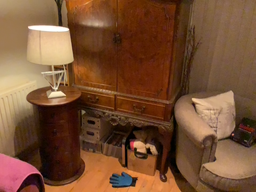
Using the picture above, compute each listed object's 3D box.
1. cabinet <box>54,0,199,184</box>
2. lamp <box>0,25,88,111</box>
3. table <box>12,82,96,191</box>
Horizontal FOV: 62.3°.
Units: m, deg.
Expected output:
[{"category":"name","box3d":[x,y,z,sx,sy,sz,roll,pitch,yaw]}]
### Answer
[{"category":"cabinet","box3d":[-0.020,-0.180,1.910,1.020,1.610,0.530,11,23,21]},{"category":"lamp","box3d":[-0.570,-0.230,1.530,0.390,0.500,0.380,11,23,21]},{"category":"table","box3d":[-0.580,0.320,1.800,0.420,0.730,0.430,11,23,21]}]
